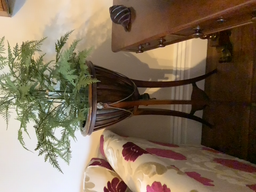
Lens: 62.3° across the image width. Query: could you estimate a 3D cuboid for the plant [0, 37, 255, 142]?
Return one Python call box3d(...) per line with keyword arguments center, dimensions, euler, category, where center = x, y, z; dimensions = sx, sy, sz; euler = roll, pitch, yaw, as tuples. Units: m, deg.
box3d(center=(0.060, -0.030, 1.150), dimensions=(0.380, 1.260, 0.370), euler=(-172, 83, -68), category="plant")
